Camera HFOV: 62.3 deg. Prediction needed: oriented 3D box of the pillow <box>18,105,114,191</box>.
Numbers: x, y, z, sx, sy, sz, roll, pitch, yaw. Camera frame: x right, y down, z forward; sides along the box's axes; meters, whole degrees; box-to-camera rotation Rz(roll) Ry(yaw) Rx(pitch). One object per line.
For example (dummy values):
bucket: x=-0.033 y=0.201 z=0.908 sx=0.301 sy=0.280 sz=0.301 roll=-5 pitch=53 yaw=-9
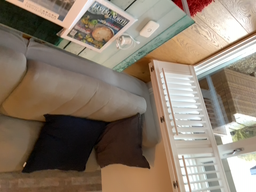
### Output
pillow: x=-0.490 y=0.440 z=1.830 sx=0.130 sy=0.510 sz=0.620 roll=-43 pitch=179 yaw=42
